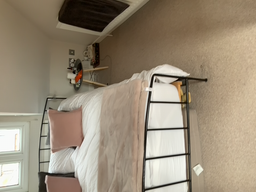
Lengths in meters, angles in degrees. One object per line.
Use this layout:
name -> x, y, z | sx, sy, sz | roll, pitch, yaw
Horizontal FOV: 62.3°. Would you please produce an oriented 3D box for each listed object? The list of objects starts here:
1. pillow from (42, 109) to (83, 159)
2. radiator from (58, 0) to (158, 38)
pillow -> -0.740, 0.420, 2.460 | 0.170, 0.470, 0.490 | -6, 89, 18
radiator -> -0.290, -0.920, 2.290 | 1.110, 0.670, 0.130 | -8, 81, 59
